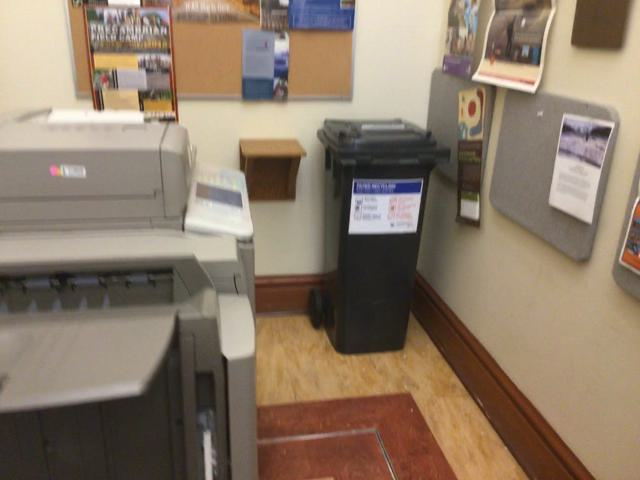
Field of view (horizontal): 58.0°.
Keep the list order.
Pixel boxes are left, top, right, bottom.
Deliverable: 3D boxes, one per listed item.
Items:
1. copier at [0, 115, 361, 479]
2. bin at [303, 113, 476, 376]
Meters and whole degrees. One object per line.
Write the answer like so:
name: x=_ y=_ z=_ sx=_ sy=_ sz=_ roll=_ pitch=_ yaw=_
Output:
copier: x=-0.520 y=0.400 z=1.310 sx=0.880 sy=1.260 sz=1.420 roll=-3 pitch=15 yaw=-10
bin: x=0.260 y=0.010 z=2.550 sx=0.540 sy=1.050 sz=0.450 roll=1 pitch=18 yaw=-12
